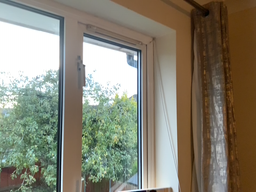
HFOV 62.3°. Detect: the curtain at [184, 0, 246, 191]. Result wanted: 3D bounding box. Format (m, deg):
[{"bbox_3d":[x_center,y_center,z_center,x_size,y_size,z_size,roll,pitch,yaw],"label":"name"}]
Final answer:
[{"bbox_3d":[0.540,0.120,1.320,0.270,1.610,0.230,3,-5,-41],"label":"curtain"}]
